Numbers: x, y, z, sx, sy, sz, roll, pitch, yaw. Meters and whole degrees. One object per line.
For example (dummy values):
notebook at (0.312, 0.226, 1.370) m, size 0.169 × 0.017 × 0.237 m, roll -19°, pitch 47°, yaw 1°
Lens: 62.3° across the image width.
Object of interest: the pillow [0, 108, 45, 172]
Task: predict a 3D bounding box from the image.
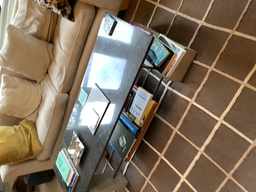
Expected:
pillow at (-1.230, 0.450, 2.270) m, size 0.490 × 0.470 × 0.250 m, roll 43°, pitch 140°, yaw 32°

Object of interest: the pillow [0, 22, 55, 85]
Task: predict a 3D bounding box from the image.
pillow at (-1.050, -0.420, 2.160) m, size 0.200 × 0.470 × 0.620 m, roll 59°, pitch 144°, yaw 16°

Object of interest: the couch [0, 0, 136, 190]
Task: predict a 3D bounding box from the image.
couch at (-0.920, -0.250, 2.270) m, size 1.040 × 0.810 × 2.200 m, roll 43°, pitch 118°, yaw 39°

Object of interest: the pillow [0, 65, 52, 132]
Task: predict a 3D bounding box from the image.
pillow at (-1.220, 0.040, 2.380) m, size 0.220 × 0.500 × 0.570 m, roll 39°, pitch 152°, yaw 30°
